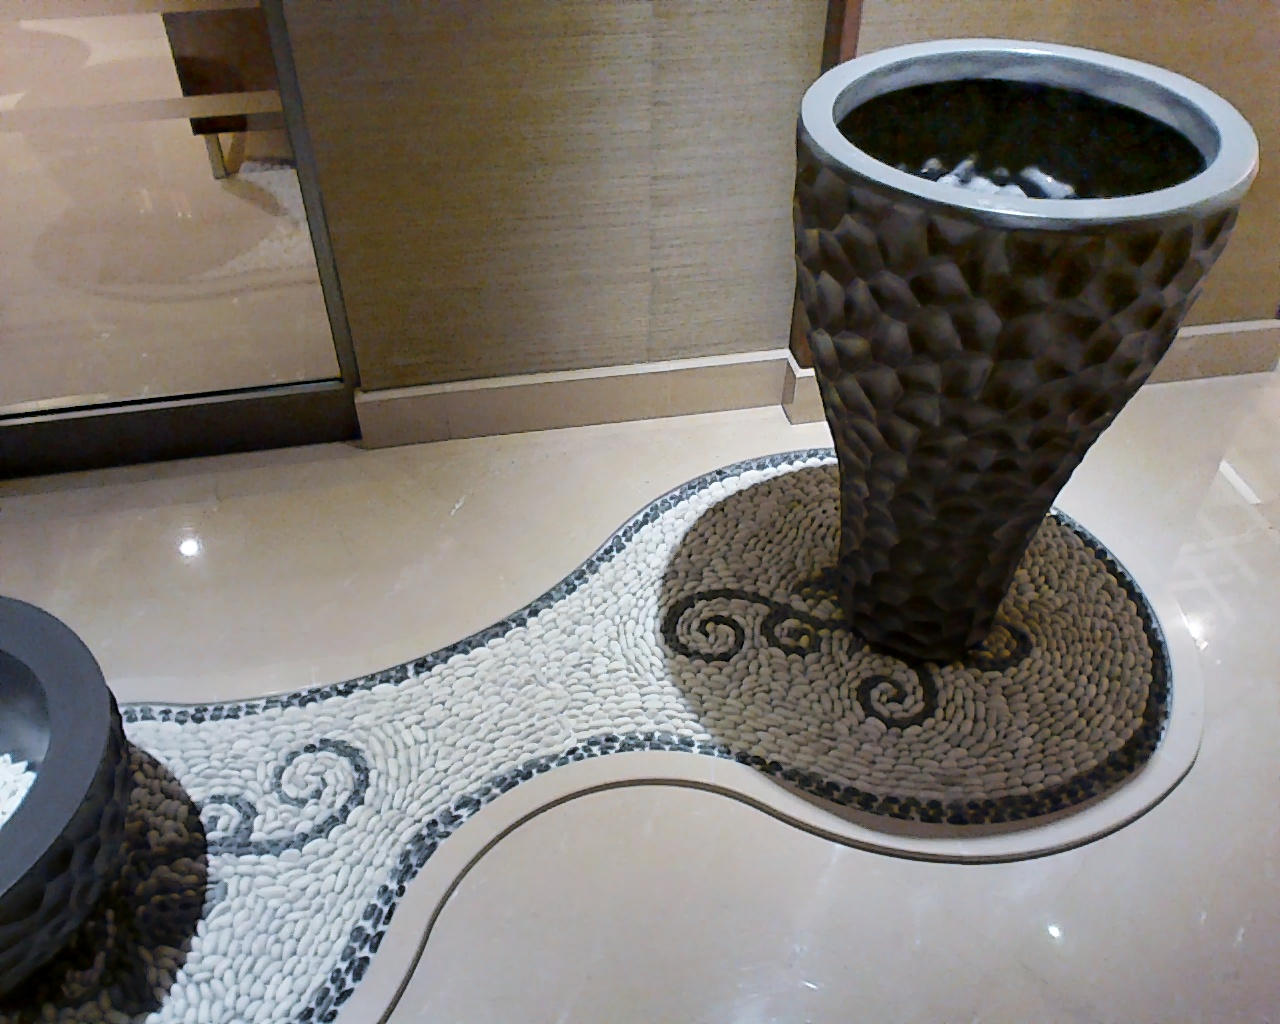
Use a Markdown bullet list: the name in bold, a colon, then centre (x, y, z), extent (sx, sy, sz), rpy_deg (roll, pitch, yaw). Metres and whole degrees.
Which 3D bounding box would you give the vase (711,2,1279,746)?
- **vase**: centre (0.530, -0.210, 1.850), extent (0.630, 1.040, 0.620), rpy_deg (-7, 43, -9)
